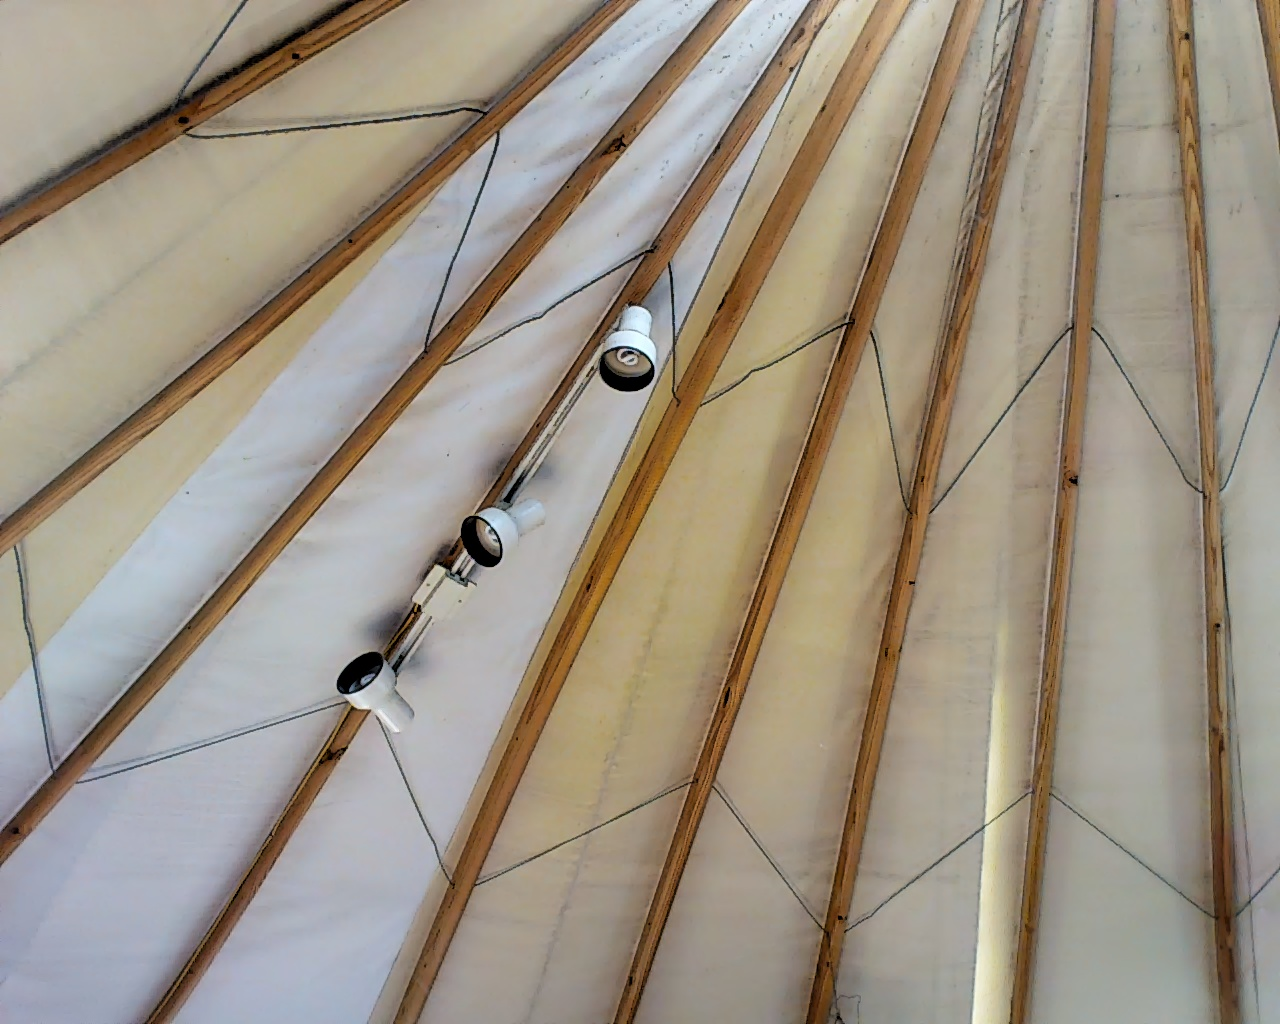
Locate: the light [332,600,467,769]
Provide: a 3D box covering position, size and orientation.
[{"bbox_3d":[-0.530,0.380,2.390,0.250,0.250,0.250,6,29,-7],"label":"light"}]
